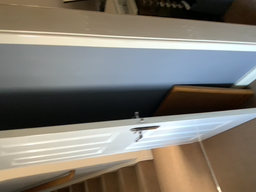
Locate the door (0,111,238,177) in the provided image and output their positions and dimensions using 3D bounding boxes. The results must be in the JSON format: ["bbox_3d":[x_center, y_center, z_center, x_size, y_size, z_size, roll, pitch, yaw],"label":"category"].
[{"bbox_3d":[-0.160,0.370,1.630,0.650,1.950,0.170,126,137,-59],"label":"door"}]
